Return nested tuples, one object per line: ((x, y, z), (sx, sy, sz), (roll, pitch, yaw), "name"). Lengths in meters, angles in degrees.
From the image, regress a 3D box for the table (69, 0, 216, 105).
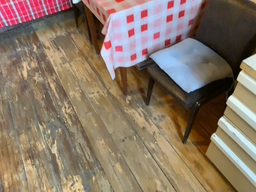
((0.070, -0.610, 1.770), (0.810, 0.770, 0.820), (-25, 53, -16), "table")
